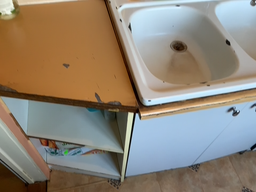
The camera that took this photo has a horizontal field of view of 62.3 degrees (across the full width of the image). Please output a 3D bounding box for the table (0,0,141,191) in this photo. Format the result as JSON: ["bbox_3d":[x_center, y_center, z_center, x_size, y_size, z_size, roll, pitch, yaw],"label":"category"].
[{"bbox_3d":[-0.280,0.080,1.070,0.450,0.870,0.560,-10,55,-12],"label":"table"}]

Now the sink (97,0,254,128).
[{"bbox_3d":[0.130,-0.190,0.860,0.410,0.170,0.550,-10,55,-12],"label":"sink"}]

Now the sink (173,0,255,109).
[{"bbox_3d":[0.520,-0.260,0.940,0.420,0.200,0.550,-10,55,-12],"label":"sink"}]
